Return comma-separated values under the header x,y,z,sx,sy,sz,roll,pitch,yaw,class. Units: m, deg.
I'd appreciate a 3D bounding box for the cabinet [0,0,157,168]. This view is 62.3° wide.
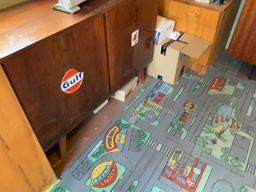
x,y,z,sx,sy,sz,roll,pitch,yaw,class
-0.370,-0.310,1.520,0.570,0.870,1.210,27,49,24,cabinet
